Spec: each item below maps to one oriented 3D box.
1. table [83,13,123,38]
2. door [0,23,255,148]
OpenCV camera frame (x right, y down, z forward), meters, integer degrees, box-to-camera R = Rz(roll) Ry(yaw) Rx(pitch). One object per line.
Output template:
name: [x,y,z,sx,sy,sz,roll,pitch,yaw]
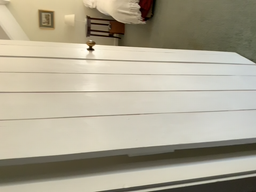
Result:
table: [-0.510,-1.410,4.250,0.390,0.720,0.380,-124,37,-63]
door: [-0.060,-0.110,0.910,0.700,1.700,0.090,-111,26,-50]
